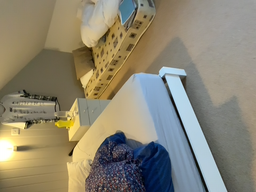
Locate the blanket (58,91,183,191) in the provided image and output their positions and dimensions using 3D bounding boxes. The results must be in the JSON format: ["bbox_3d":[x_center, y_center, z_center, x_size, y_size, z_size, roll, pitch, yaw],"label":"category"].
[{"bbox_3d":[-0.150,0.740,1.570,1.190,0.390,1.080,-47,49,48],"label":"blanket"}]
